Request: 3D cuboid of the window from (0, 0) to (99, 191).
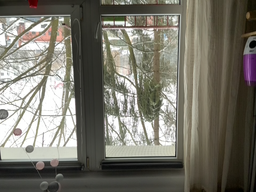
[{"bbox_3d":[-1.020,-0.050,1.730,1.460,1.520,0.450,0,-171,1],"label":"window"}]
